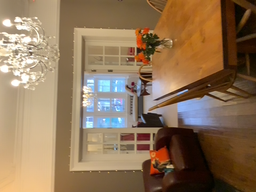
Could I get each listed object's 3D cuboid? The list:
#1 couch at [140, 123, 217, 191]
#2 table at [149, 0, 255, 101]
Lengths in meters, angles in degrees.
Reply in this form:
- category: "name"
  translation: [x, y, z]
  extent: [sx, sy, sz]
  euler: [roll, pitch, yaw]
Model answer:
- category: "couch"
  translation: [0.680, 1.090, 3.340]
  extent: [0.960, 0.810, 0.920]
  euler: [-95, 7, -49]
- category: "table"
  translation: [0.780, -0.530, 2.150]
  extent: [2.010, 0.770, 1.010]
  euler: [129, 142, -83]
